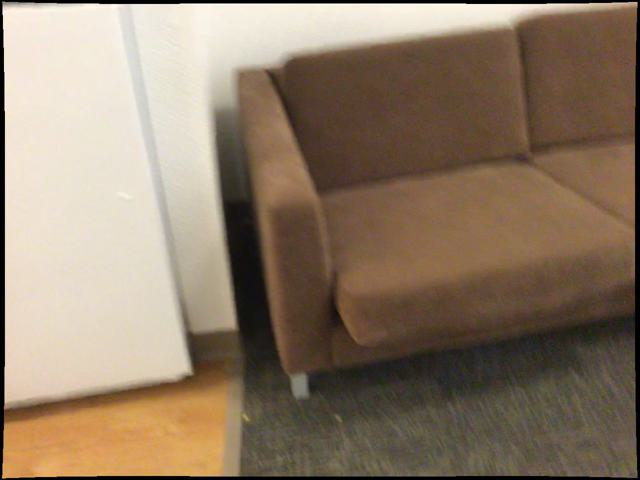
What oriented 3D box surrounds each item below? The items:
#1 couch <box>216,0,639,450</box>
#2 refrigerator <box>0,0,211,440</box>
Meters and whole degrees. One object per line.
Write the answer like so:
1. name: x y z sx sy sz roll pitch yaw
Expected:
1. couch: 0.658 -0.221 1.680 1.746 0.861 0.951 -9 38 -7
2. refrigerator: -0.738 -0.160 1.140 0.778 1.552 0.170 -9 38 -7
